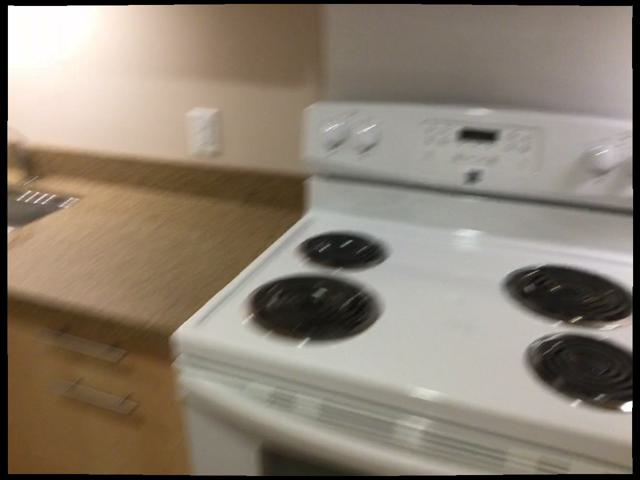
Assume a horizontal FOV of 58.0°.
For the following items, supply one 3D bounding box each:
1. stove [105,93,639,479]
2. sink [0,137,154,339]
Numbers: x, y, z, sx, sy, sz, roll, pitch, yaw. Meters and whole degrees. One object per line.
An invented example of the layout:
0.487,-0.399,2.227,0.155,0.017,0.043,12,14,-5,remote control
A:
0.260,0.381,1.210,0.849,1.182,0.790,9,26,21,stove
-0.958,-0.060,1.630,0.699,0.290,0.590,9,26,21,sink
